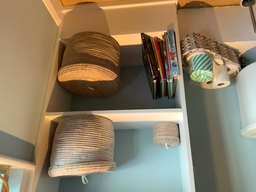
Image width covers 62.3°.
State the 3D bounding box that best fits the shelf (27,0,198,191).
[{"bbox_3d":[-0.060,0.440,0.990,0.700,2.150,0.300,-2,156,7],"label":"shelf"}]

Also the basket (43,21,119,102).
[{"bbox_3d":[-0.240,-0.180,1.260,0.320,0.300,0.380,-2,156,6],"label":"basket"}]

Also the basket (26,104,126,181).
[{"bbox_3d":[-0.220,0.260,1.090,0.370,0.310,0.360,-2,156,7],"label":"basket"}]
